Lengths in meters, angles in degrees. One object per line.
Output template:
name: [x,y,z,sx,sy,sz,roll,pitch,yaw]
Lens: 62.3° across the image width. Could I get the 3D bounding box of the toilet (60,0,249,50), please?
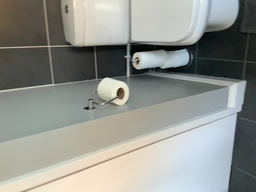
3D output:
toilet: [0.130,-0.490,1.200,0.690,0.790,0.390,20,115,51]
